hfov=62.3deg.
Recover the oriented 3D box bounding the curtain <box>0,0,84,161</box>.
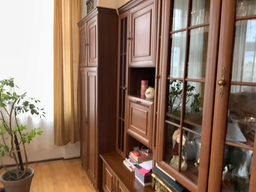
[{"bbox_3d":[-1.860,-0.710,2.730,2.530,3.180,0.230,-2,8,-23],"label":"curtain"}]

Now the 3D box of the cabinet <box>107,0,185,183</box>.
[{"bbox_3d":[0.110,-0.130,2.100,0.370,1.600,0.810,-2,8,-25],"label":"cabinet"}]

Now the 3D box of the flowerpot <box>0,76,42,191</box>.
[{"bbox_3d":[-1.350,0.490,2.510,0.560,1.410,1.020,-2,8,-24],"label":"flowerpot"}]

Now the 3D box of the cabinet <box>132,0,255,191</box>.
[{"bbox_3d":[0.440,-0.010,1.320,0.440,1.600,0.890,-2,8,-25],"label":"cabinet"}]
